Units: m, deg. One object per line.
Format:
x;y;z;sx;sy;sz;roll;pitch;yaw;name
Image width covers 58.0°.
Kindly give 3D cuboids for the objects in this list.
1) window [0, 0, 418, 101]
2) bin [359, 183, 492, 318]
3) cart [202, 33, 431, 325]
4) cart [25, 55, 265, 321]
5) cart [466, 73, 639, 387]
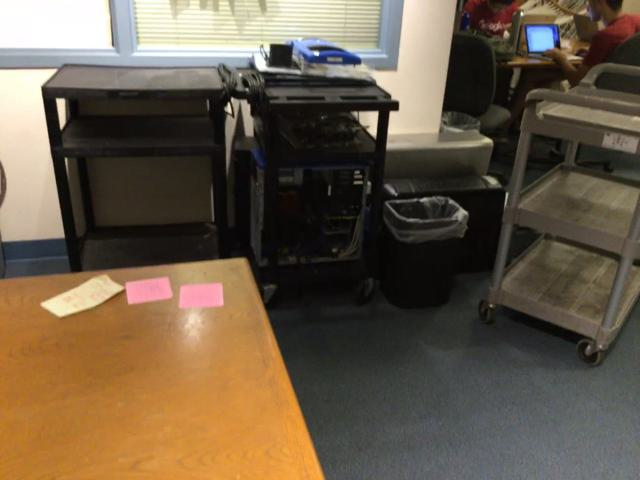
-0.750;-0.850;2.210;2.260;0.490;0.400;-3;25;-19;window
0.420;0.030;2.410;0.360;0.440;0.340;-3;25;-19;bin
-0.090;-0.280;2.350;0.670;0.960;0.690;-3;25;-19;cart
-0.690;-0.230;2.360;0.780;0.900;0.520;-3;25;-19;cart
1.020;-0.100;2.160;0.490;0.910;0.750;22;28;33;cart
